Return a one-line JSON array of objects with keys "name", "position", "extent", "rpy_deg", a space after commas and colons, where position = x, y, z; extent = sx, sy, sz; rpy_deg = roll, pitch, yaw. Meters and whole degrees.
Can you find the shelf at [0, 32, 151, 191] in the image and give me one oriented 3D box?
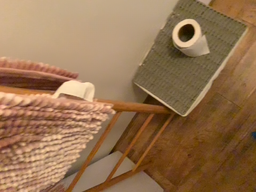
[{"name": "shelf", "position": [-0.320, 0.120, 0.280], "extent": [0.180, 1.110, 0.440], "rpy_deg": [38, 104, 18]}]
